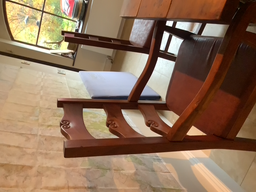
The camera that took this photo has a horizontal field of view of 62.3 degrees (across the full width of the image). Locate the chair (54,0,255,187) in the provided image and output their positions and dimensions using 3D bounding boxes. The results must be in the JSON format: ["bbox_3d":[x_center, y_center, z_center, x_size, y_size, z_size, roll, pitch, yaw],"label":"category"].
[{"bbox_3d":[0.290,-0.050,0.990,0.570,1.070,0.640,43,119,61],"label":"chair"}]
